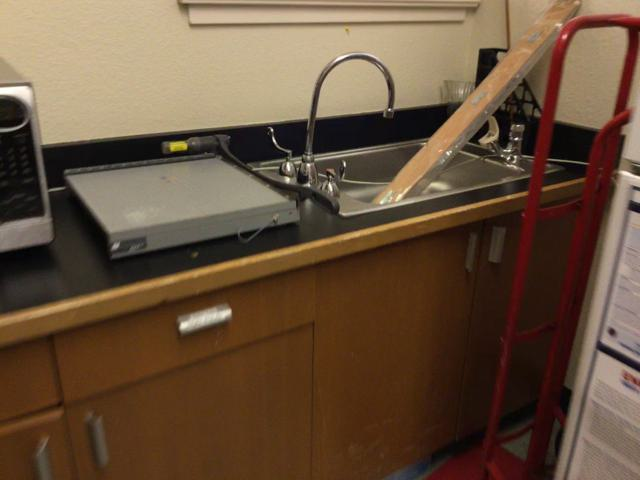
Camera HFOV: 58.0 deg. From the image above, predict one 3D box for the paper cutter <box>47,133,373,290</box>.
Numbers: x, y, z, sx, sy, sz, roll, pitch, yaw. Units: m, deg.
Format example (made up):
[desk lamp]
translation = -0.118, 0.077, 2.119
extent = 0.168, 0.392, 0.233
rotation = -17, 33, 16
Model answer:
[paper cutter]
translation = -0.270, -0.110, 1.260
extent = 0.470, 0.130, 0.630
rotation = -12, 23, -32

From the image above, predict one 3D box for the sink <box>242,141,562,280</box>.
[sink]
translation = 0.230, -0.130, 1.680
extent = 0.760, 0.190, 0.510
rotation = -10, 23, -32
